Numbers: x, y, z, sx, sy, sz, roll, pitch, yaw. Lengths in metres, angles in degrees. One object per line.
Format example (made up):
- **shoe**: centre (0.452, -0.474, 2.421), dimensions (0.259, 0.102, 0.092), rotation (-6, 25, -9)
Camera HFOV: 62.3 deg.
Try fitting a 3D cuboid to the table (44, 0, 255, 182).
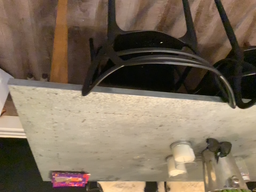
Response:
- **table**: centre (0.370, 0.020, 1.400), dimensions (1.520, 0.770, 0.980), rotation (4, 142, -11)
